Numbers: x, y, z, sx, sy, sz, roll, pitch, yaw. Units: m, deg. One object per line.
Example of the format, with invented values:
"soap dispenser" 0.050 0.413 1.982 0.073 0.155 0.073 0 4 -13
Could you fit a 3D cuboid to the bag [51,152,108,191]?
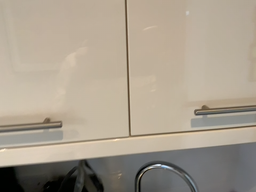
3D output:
"bag" -0.150 0.420 0.740 0.160 0.330 0.280 -2 17 -5
